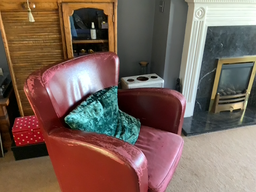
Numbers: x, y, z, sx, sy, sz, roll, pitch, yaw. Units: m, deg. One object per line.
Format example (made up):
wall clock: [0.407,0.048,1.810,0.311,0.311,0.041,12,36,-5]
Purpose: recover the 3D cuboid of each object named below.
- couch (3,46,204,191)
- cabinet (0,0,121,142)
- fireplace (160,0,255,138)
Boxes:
couch: [-0.060,0.230,1.320,0.760,0.840,0.790,13,28,24]
cabinet: [-0.550,-0.270,1.920,0.890,1.190,0.440,-6,27,-15]
fireplace: [1.160,-0.340,2.130,1.490,1.200,0.530,-6,27,-15]
